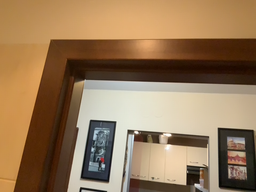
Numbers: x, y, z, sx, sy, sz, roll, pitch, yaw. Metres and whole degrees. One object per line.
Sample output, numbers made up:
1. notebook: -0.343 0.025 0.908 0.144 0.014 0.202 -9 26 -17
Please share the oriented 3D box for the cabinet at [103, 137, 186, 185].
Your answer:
1. cabinet: 0.350 1.300 4.300 1.570 0.740 0.370 3 -18 11
